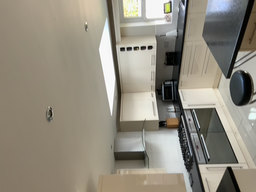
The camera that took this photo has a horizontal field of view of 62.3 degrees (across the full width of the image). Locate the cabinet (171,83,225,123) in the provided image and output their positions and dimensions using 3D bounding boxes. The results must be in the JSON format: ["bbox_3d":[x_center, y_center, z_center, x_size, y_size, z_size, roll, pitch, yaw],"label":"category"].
[{"bbox_3d":[1.440,0.150,4.500,0.560,0.910,0.580,-90,-4,-48],"label":"cabinet"}]

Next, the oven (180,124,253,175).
[{"bbox_3d":[1.440,0.920,3.620,0.590,0.920,0.590,-90,-4,-48],"label":"oven"}]

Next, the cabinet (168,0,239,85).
[{"bbox_3d":[1.300,-1.880,3.470,0.610,0.920,3.840,-90,-4,-48],"label":"cabinet"}]

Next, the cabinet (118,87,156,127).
[{"bbox_3d":[0.190,0.220,4.710,0.870,0.780,0.350,-90,-4,-48],"label":"cabinet"}]
